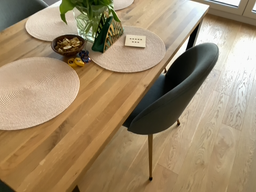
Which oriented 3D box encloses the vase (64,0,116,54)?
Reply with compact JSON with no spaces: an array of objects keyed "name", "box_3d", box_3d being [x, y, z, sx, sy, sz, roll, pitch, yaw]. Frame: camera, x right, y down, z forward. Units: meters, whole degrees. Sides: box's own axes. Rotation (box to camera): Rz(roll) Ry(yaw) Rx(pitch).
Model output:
[{"name":"vase","box_3d":[-0.160,-0.380,0.940,0.160,0.320,0.150,25,51,18]}]
